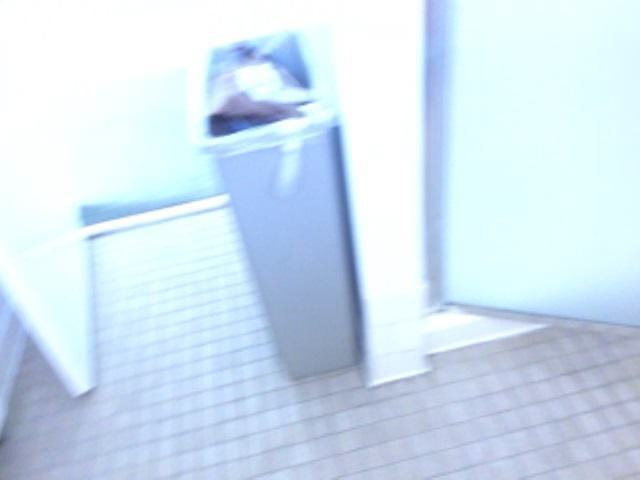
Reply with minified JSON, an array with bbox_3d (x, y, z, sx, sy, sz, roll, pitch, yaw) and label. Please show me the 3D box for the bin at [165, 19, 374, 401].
[{"bbox_3d":[-0.110,-0.070,1.480,0.310,0.760,0.540,-12,39,-2],"label":"bin"}]
